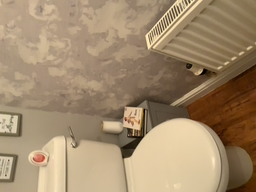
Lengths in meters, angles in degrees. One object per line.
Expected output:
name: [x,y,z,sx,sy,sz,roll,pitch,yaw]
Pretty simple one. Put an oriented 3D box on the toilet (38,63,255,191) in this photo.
toilet: [0.100,0.330,0.930,0.690,0.780,0.460,-41,49,44]
